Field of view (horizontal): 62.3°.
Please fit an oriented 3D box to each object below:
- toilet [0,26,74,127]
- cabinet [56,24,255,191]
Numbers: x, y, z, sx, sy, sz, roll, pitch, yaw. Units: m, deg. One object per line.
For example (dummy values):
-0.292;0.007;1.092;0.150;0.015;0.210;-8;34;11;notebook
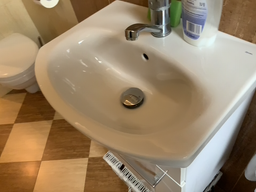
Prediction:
-0.750;-0.150;1.530;0.350;0.430;0.530;-40;54;-21;toilet
0.080;0.100;0.770;0.300;0.480;0.480;-40;55;-21;cabinet
